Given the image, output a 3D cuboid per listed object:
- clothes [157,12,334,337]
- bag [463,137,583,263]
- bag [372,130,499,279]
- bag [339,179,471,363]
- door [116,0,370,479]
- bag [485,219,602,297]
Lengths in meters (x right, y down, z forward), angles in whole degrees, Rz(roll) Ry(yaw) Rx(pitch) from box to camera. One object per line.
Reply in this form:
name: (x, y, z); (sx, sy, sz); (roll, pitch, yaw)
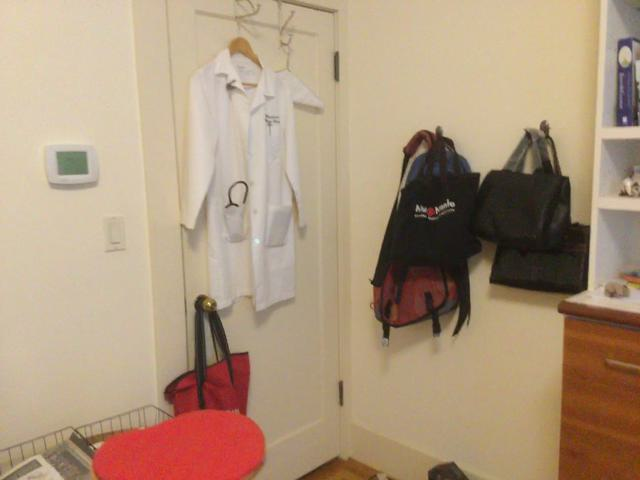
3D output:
clothes: (-0.230, -0.230, 2.080); (0.150, 1.010, 0.630); (6, 12, 43)
bag: (0.650, -0.140, 1.870); (0.310, 0.370, 0.190); (6, 12, 43)
bag: (0.410, -0.140, 2.070); (0.370, 0.480, 0.240); (6, 12, 43)
bag: (0.320, 0.090, 2.210); (0.440, 0.630, 0.220); (6, 12, 43)
door: (-0.200, 0.020, 2.150); (0.170, 2.080, 0.960); (6, 12, 43)
bag: (0.730, 0.050, 1.910); (0.330, 0.210, 0.130); (6, 12, 43)
